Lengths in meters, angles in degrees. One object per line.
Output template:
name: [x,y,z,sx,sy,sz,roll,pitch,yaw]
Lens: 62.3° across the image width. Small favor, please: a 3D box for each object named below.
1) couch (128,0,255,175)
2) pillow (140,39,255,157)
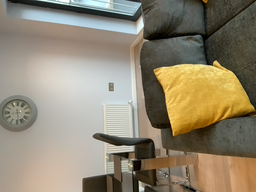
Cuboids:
couch: [0.600,-0.470,1.470,1.090,0.830,1.700,153,116,-66]
pillow: [0.430,-0.010,1.390,0.290,0.490,0.590,78,168,-53]
